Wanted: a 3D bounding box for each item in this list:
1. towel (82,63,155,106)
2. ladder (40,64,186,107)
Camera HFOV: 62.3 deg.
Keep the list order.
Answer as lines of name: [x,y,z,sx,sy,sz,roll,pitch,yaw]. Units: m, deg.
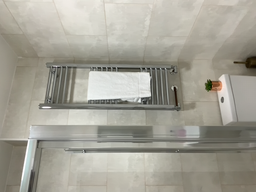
towel: [-0.070,-0.090,1.640,0.130,0.520,0.300,96,174,-66]
ladder: [-0.110,-0.090,1.720,0.020,1.130,0.370,96,174,-67]
